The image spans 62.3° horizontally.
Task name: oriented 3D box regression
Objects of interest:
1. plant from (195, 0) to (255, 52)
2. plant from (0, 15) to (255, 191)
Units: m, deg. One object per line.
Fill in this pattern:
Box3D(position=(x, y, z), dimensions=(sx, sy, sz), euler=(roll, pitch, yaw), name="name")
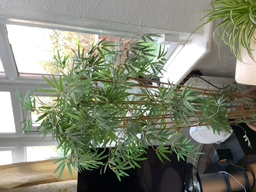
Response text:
Box3D(position=(0.450, -0.300, 0.740), dimensions=(0.260, 0.310, 0.220), euler=(-174, 86, -72), name="plant")
Box3D(position=(0.310, 0.080, 1.200), dimensions=(0.500, 1.640, 0.640), euler=(-106, 25, -44), name="plant")
